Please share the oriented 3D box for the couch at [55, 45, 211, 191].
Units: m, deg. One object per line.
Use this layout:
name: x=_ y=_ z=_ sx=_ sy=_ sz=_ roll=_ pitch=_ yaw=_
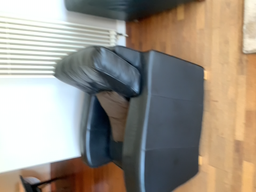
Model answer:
couch: x=-0.010 y=0.170 z=1.720 sx=0.930 sy=0.860 sz=0.940 roll=5 pitch=96 yaw=55
